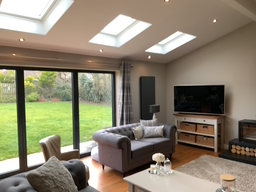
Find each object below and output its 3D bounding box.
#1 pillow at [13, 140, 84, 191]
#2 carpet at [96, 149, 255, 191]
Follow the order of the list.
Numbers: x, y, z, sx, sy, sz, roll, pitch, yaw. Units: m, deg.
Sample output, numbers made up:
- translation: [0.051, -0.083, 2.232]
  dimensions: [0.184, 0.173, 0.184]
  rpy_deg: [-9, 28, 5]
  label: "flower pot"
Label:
- translation: [-0.770, 0.780, 2.150]
  dimensions: [0.240, 0.380, 0.530]
  rpy_deg: [-17, 19, 33]
  label: "pillow"
- translation: [1.360, 1.430, 3.290]
  dimensions: [2.980, 0.150, 2.160]
  rpy_deg: [-3, 4, -42]
  label: "carpet"
